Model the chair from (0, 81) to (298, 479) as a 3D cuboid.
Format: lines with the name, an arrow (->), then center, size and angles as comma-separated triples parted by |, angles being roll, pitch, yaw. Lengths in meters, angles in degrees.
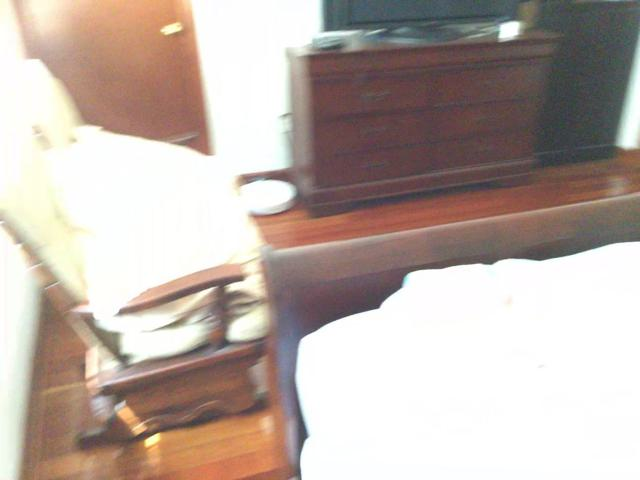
chair -> -0.560, 0.100, 1.760 | 0.820, 0.950, 0.620 | -9, 30, -14

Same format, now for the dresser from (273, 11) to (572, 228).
dresser -> 0.530, -0.700, 3.210 | 1.450, 0.940, 0.500 | -9, 30, -14

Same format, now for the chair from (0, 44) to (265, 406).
chair -> -0.800, -0.130, 2.230 | 0.950, 1.000, 0.850 | -9, 30, -14
